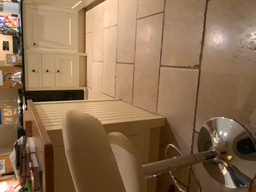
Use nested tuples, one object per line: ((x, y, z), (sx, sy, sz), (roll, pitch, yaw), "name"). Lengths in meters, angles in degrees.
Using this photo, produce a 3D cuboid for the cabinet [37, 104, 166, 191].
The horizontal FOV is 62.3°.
((-0.230, 0.690, 1.690), (0.480, 0.850, 1.130), (19, 109, 59), "cabinet")
